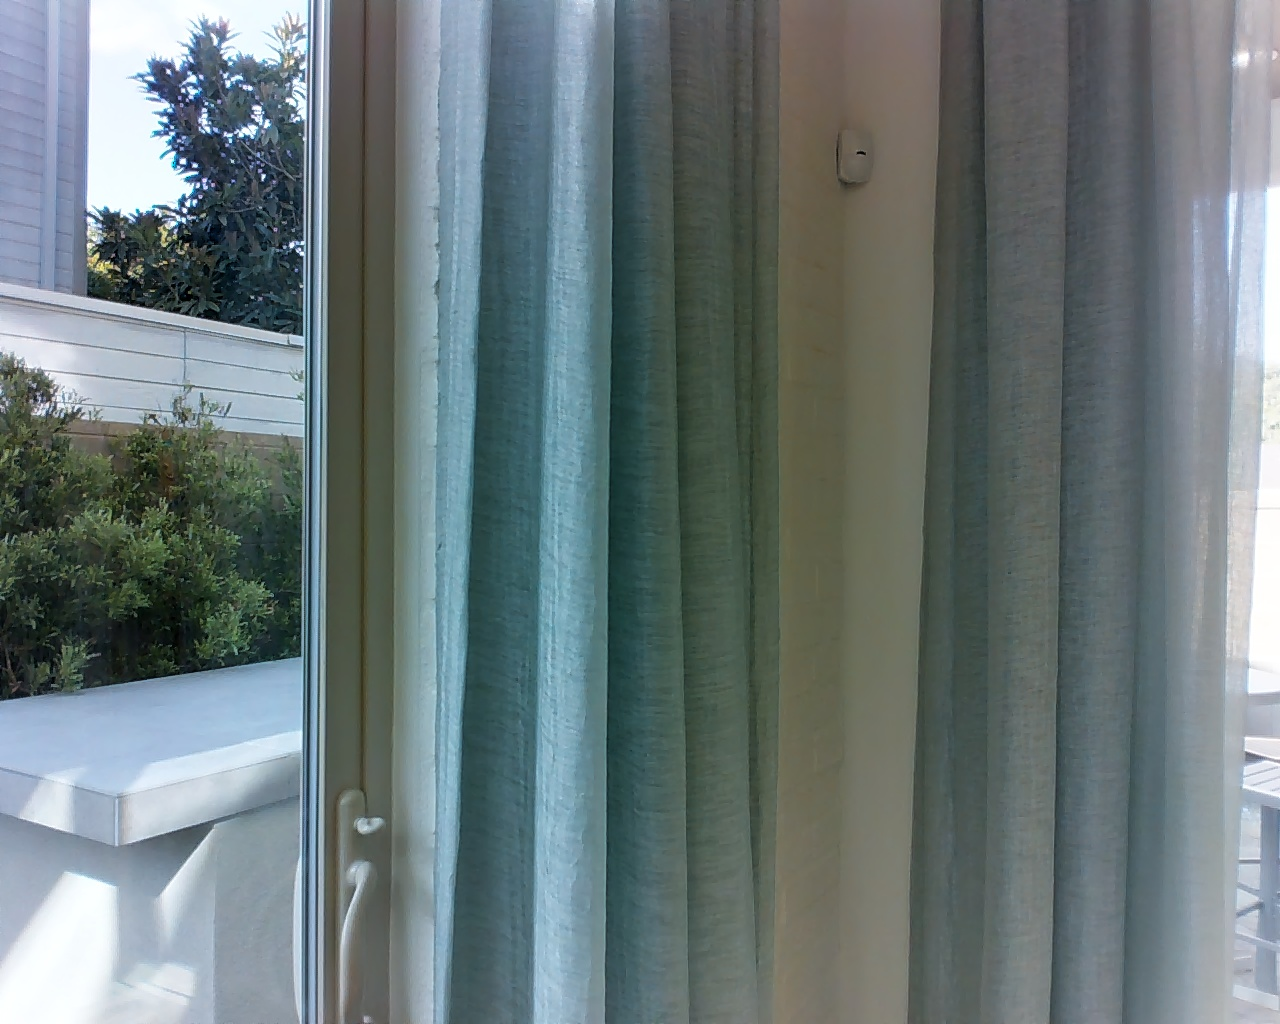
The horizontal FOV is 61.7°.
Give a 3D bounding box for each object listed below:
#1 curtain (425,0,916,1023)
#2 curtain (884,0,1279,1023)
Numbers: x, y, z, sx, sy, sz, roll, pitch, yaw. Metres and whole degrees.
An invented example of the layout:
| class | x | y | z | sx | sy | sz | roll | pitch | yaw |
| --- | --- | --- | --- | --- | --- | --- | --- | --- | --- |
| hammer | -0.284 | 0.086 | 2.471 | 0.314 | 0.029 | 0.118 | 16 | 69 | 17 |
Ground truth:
| class | x | y | z | sx | sy | sz | roll | pitch | yaw |
| --- | --- | --- | --- | --- | --- | --- | --- | --- | --- |
| curtain | 0.080 | -0.060 | 1.200 | 0.270 | 3.021 | 0.630 | 1 | 0 | 30 |
| curtain | 0.690 | -0.060 | 1.640 | 0.530 | 3.031 | 0.310 | 1 | 0 | 31 |
